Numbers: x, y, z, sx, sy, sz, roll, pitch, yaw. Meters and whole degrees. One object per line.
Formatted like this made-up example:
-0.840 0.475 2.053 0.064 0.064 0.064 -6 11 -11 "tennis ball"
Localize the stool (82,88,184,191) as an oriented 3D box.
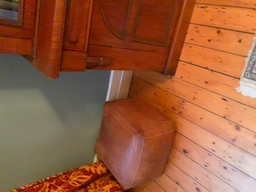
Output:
0.000 0.300 1.530 0.550 0.350 0.550 31 115 41 "stool"
